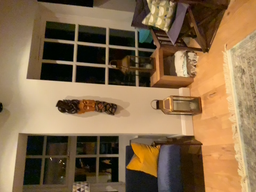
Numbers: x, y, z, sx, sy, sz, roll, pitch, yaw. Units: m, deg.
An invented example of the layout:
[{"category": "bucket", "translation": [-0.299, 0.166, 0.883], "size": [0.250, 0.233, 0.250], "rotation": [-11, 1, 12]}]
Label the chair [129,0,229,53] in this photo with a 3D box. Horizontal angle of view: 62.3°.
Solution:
[{"category": "chair", "translation": [0.520, -0.960, 2.470], "size": [0.580, 0.860, 0.600], "rotation": [-101, 18, -47]}]

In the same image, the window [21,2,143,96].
[{"category": "window", "translation": [-0.570, -0.620, 2.960], "size": [0.320, 1.500, 1.130], "rotation": [132, 139, -70]}]

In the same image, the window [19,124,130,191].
[{"category": "window", "translation": [-0.830, 1.490, 3.480], "size": [0.380, 1.670, 1.970], "rotation": [130, 141, -70]}]
